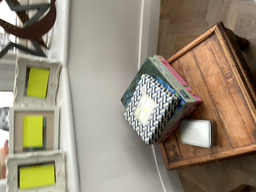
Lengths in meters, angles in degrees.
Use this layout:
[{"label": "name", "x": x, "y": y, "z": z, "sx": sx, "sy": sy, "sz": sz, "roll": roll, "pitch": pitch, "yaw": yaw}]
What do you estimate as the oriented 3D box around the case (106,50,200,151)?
[{"label": "case", "x": 0.080, "y": 0.010, "z": 0.880, "sx": 0.300, "sy": 0.140, "sz": 0.270, "roll": 52, "pitch": 128, "yaw": 38}]
